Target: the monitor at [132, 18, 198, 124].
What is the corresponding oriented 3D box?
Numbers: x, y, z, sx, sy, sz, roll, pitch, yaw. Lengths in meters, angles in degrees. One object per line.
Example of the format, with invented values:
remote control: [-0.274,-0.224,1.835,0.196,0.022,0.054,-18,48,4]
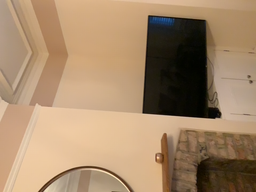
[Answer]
monitor: [0.400,-0.290,2.190,0.040,0.630,1.110,95,180,-74]
